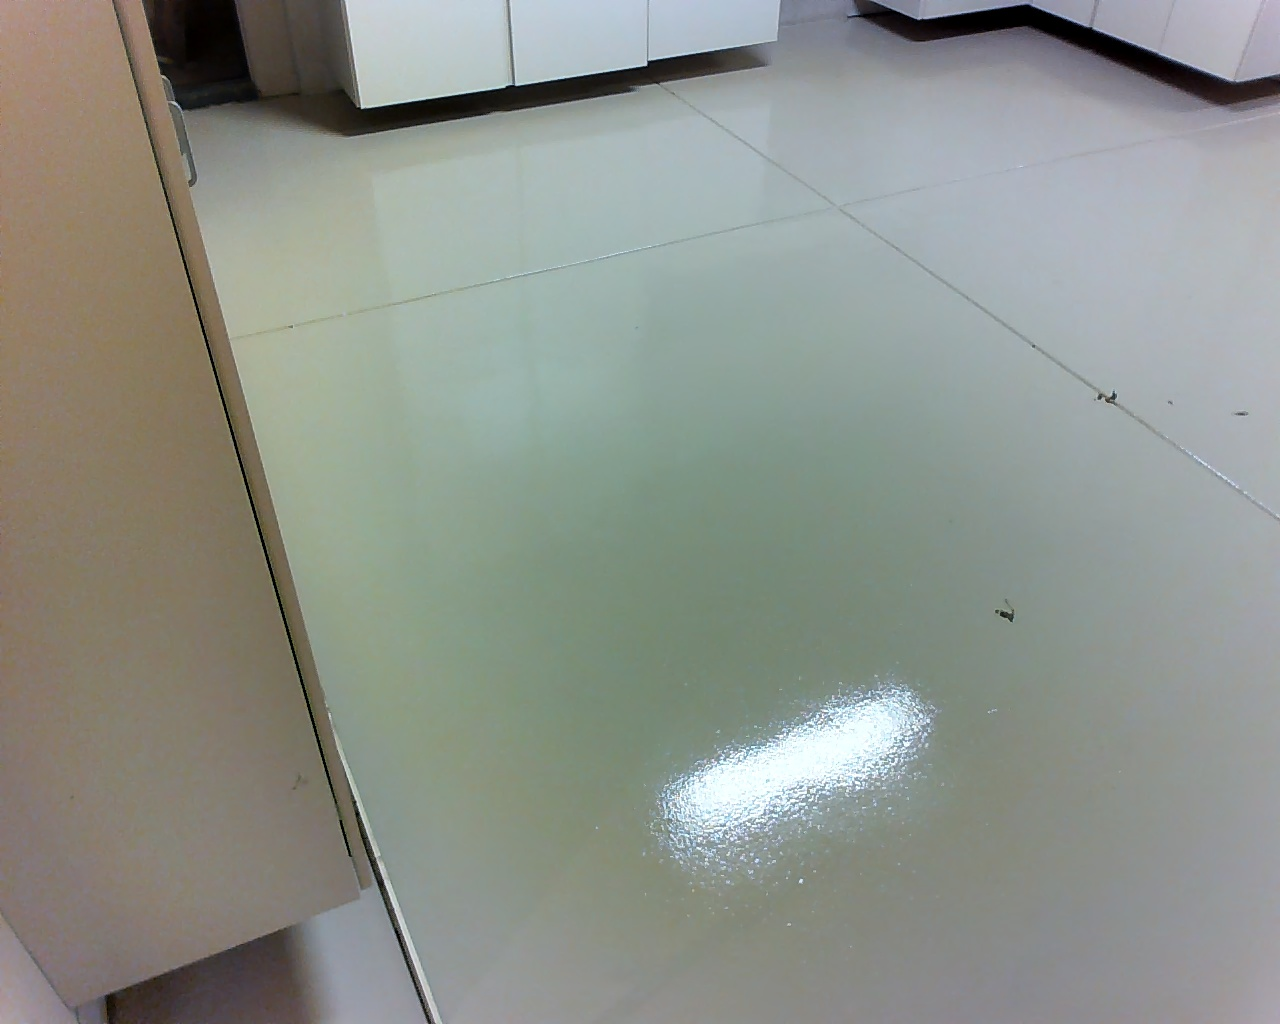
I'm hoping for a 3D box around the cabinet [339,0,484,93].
[{"bbox_3d":[-0.850,-1.790,4.020,0.460,0.310,0.200,-17,44,-19],"label":"cabinet"}]
